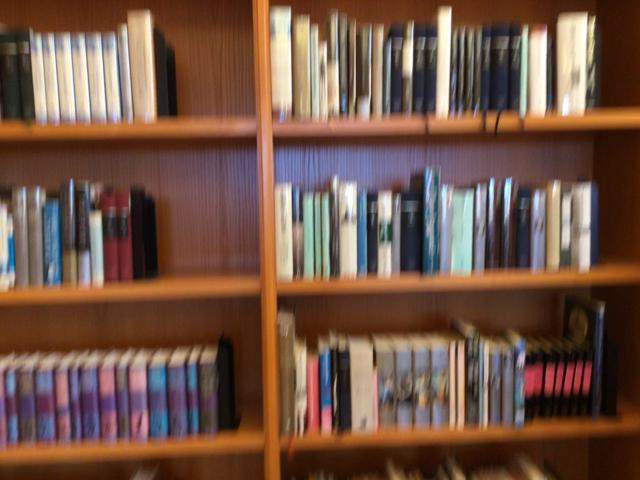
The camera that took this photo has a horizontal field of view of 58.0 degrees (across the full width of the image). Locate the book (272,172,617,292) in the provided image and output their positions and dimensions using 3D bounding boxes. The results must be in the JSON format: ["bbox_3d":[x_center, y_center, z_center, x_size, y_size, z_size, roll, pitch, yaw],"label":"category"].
[{"bbox_3d":[0.300,-0.020,1.420,0.830,0.280,0.100,0,1,-4],"label":"book"}]

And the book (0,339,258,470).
[{"bbox_3d":[-0.610,0.400,1.430,0.900,0.270,0.150,0,1,-4],"label":"book"}]

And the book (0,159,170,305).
[{"bbox_3d":[-0.740,-0.020,1.430,0.680,0.330,0.240,0,1,-4],"label":"book"}]

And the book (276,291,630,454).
[{"bbox_3d":[0.320,0.330,1.550,0.870,0.350,0.300,0,1,-4],"label":"book"}]

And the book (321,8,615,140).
[{"bbox_3d":[0.350,-0.390,1.390,0.690,0.280,0.090,0,1,-4],"label":"book"}]

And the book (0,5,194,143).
[{"bbox_3d":[-0.680,-0.380,1.340,0.750,0.290,0.090,0,1,-4],"label":"book"}]
